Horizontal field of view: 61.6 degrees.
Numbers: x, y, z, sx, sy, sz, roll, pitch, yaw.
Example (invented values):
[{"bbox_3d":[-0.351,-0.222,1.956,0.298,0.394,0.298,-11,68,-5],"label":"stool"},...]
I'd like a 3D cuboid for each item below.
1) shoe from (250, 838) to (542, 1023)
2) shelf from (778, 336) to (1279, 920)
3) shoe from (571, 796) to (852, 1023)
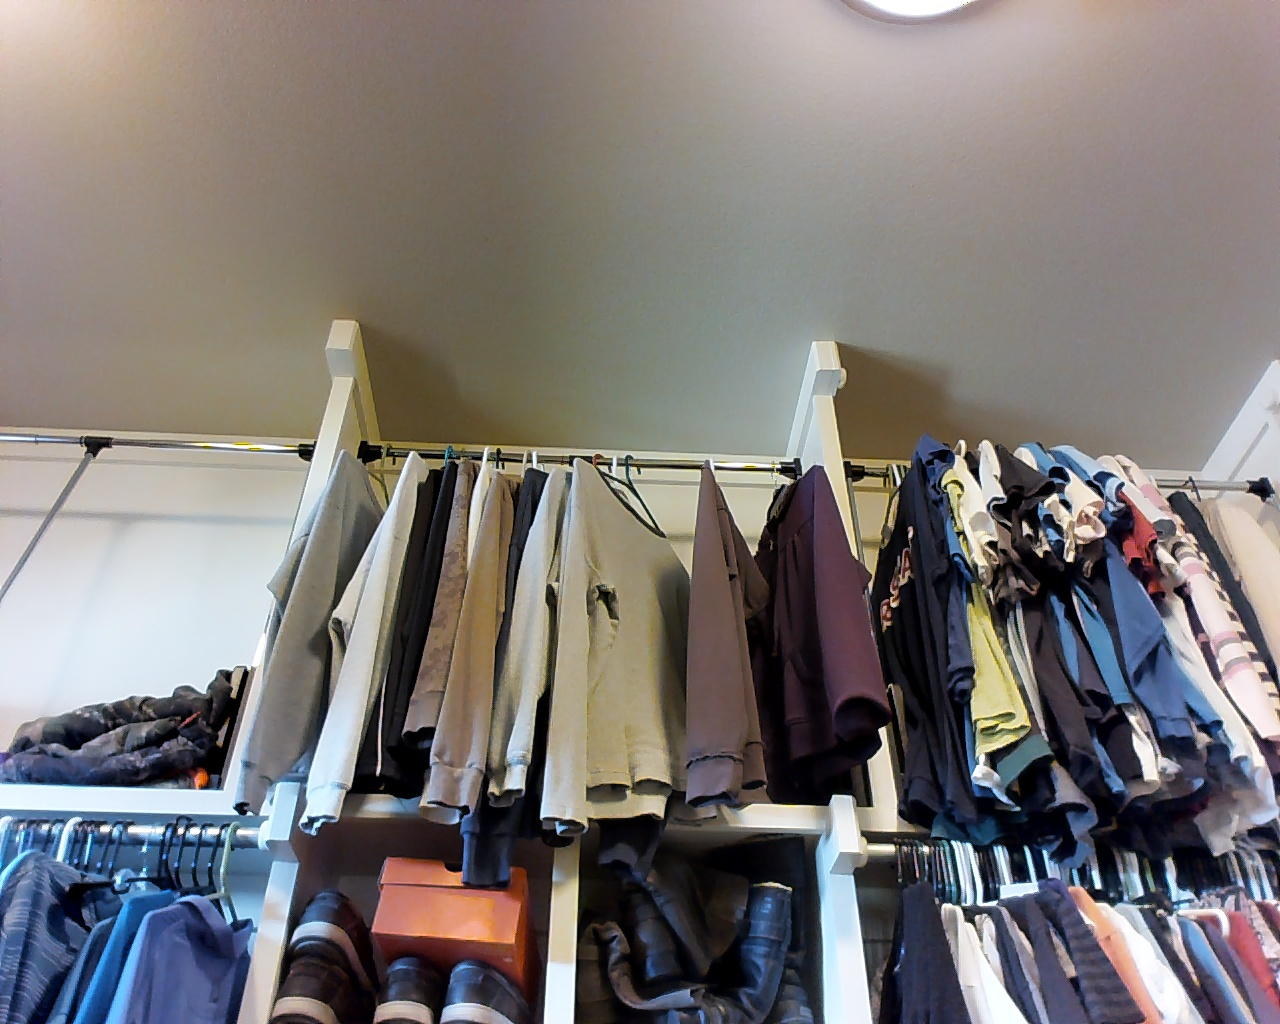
[{"bbox_3d":[-0.340,0.660,1.600,0.370,0.260,0.230,2,-40,-3],"label":"shoe"},{"bbox_3d":[0.880,0.190,2.130,1.060,1.070,0.420,2,-40,-3],"label":"shelf"},{"bbox_3d":[0.090,0.630,1.640,0.380,0.290,0.260,2,-40,-3],"label":"shoe"}]
